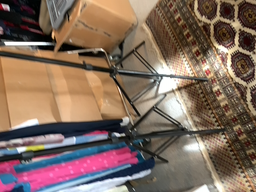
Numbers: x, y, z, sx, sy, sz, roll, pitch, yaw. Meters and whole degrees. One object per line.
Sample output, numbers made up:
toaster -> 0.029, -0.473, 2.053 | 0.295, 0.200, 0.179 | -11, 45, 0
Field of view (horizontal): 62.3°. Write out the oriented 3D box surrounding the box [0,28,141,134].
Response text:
box -> -0.570, -0.070, 1.480 | 0.450, 1.300, 0.460 | -42, 62, 35
